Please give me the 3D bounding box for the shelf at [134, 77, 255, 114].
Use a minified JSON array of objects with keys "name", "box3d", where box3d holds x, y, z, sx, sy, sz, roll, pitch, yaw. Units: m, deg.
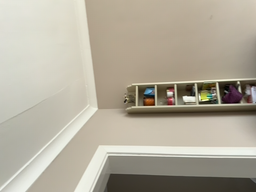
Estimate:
[{"name":"shelf","box3d":[1.000,0.000,1.890,0.210,1.880,0.280,46,-137,-76]}]
